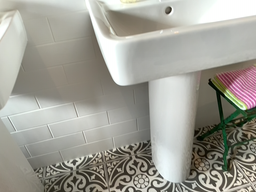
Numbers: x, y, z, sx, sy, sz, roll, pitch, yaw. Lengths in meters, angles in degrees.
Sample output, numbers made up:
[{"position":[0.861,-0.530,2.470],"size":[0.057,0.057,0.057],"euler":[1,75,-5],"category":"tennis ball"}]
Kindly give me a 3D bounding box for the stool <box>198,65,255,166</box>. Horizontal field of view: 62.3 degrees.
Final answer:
[{"position":[0.580,0.100,1.100],"size":[0.280,0.400,0.260],"euler":[-12,38,-9],"category":"stool"}]
